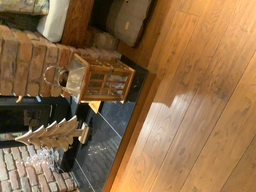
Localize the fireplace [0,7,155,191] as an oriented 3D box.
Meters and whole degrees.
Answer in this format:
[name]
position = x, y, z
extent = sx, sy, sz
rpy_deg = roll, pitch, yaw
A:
[fireplace]
position = -0.950, 0.310, 1.680
extent = 1.230, 1.320, 1.720
rpy_deg = 39, 118, 42
